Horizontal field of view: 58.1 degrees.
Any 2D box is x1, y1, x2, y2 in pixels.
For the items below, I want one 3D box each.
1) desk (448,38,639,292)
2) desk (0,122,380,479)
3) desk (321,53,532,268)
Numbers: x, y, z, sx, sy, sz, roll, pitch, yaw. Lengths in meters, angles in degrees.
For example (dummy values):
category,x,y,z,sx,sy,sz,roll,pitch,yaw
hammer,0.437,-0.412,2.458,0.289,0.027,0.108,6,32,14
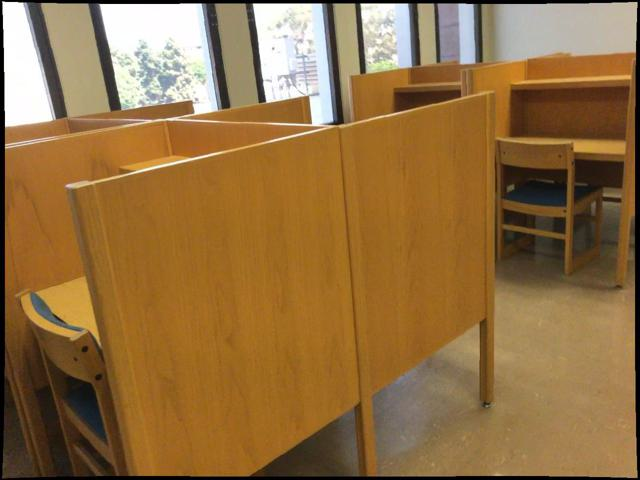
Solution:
category,x,y,z,sx,sy,sz,roll,pitch,yaw
desk,1.496,-0.511,3.530,0.879,1.273,1.019,-18,19,-37
desk,-0.499,0.321,1.860,0.819,1.303,1.079,-15,18,-38
desk,0.768,-0.612,4.150,0.869,1.253,1.149,-18,19,-37
